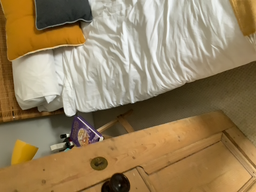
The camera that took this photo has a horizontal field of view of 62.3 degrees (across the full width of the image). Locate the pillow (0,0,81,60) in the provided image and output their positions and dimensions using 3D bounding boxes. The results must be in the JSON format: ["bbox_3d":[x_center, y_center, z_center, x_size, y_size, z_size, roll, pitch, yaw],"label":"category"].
[{"bbox_3d":[-0.490,-0.450,1.190,0.160,0.400,0.390,143,134,-68],"label":"pillow"}]
